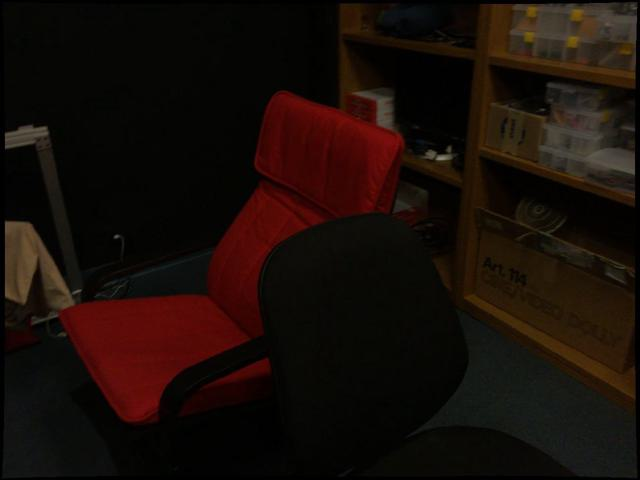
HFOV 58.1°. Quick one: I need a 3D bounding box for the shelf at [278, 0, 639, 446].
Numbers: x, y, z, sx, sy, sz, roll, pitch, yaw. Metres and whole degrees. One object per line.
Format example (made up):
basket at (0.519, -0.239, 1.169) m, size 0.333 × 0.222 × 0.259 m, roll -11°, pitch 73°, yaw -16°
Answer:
shelf at (0.618, -0.391, 2.440) m, size 0.509 × 1.333 × 2.149 m, roll -18°, pitch 31°, yaw -29°
